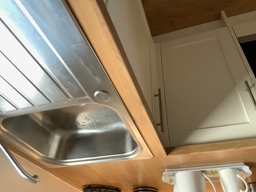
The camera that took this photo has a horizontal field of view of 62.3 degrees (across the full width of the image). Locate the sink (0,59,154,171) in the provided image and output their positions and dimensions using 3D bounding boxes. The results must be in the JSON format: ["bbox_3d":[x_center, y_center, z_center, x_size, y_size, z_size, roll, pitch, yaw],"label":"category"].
[{"bbox_3d":[-0.200,0.120,0.870,0.520,0.200,0.410,-10,140,15],"label":"sink"}]
